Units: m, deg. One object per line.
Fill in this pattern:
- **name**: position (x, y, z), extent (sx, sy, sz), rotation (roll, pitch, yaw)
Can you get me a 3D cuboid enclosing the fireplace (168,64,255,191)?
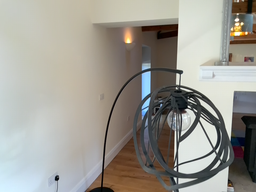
- **fireplace**: position (1.610, 0.470, 2.330), extent (2.170, 1.610, 1.000), rotation (3, 10, 17)
